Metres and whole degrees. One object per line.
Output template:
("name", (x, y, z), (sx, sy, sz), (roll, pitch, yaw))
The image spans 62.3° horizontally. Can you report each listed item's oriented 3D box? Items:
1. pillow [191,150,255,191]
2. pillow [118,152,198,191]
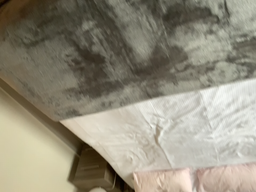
("pillow", (0.820, 0.660, 1.720), (0.530, 0.220, 0.160), (14, 141, 43))
("pillow", (0.250, 0.760, 1.900), (0.660, 0.230, 0.170), (15, 143, 37))
